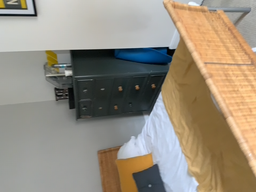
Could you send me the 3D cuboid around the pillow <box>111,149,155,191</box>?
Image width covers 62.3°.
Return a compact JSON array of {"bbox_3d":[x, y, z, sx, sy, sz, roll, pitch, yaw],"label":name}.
[{"bbox_3d":[0.070,0.830,2.310,0.160,0.400,0.470,62,-150,-50],"label":"pillow"}]
